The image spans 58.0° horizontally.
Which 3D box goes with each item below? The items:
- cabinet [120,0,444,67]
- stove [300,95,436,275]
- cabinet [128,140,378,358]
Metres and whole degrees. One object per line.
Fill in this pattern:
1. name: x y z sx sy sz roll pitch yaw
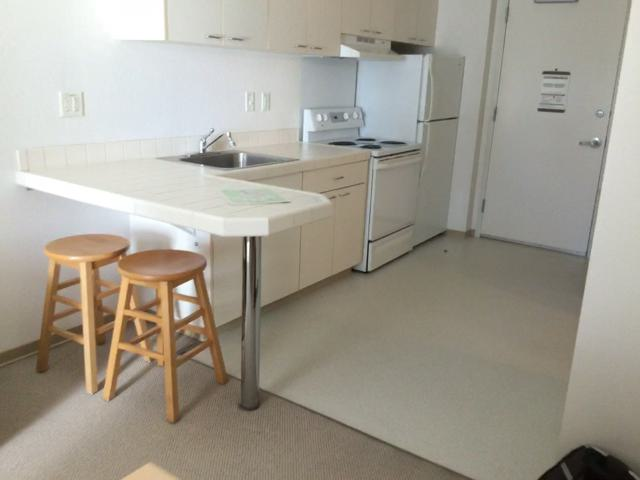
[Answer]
1. cabinet: 0.030 -1.670 3.790 0.440 0.920 2.890 11 18 33
2. stove: 0.360 -0.470 4.400 0.680 1.210 0.780 11 18 33
3. cabinet: -0.300 -0.070 3.530 0.540 0.930 1.610 11 18 33
